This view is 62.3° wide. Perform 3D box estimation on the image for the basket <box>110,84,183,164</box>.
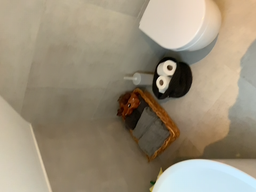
[{"bbox_3d":[0.130,0.220,1.820,0.370,0.250,0.540,-56,51,34],"label":"basket"}]
